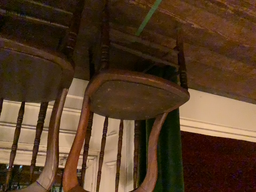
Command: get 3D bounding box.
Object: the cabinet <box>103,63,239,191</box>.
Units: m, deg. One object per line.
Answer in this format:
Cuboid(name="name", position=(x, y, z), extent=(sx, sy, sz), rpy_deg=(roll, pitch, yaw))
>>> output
Cuboid(name="cabinet", position=(0.220, 0.410, 1.360), extent=(0.600, 0.980, 0.550), rpy_deg=(11, 151, -21))
